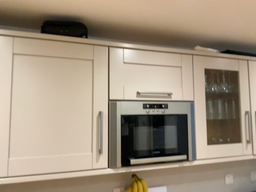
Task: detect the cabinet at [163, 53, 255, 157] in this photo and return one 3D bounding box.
[{"bbox_3d":[0.830,0.080,1.790,1.010,0.720,0.330,1,-6,-20],"label":"cabinet"}]
